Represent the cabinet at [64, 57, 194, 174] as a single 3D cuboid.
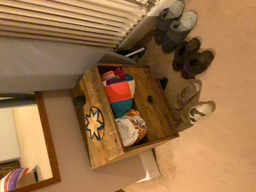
[{"bbox_3d":[0.000,0.110,1.510,0.400,0.650,0.610,-39,65,43],"label":"cabinet"}]
